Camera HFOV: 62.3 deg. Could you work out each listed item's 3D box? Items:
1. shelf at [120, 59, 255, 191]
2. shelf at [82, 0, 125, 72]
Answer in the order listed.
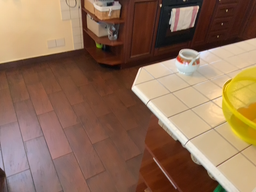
[{"bbox_3d":[0.260,0.360,1.020,0.310,0.860,0.550,-18,44,-27],"label":"shelf"},{"bbox_3d":[-0.290,-0.770,2.350,0.230,0.840,0.510,-18,45,-27],"label":"shelf"}]
